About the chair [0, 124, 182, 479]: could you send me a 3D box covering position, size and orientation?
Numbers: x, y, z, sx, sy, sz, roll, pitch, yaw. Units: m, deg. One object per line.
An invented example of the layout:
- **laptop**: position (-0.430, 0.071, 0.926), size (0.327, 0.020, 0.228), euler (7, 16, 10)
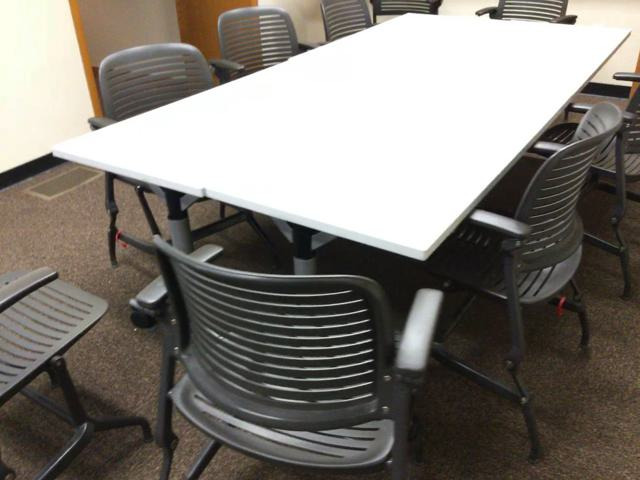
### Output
- **chair**: position (-0.800, 0.210, 1.410), size (0.600, 0.810, 0.520), euler (16, 35, 29)

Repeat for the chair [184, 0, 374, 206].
- **chair**: position (-0.180, -0.730, 2.900), size (0.640, 0.800, 0.620), euler (-26, 37, -35)

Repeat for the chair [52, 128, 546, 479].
- **chair**: position (0.000, 0.300, 1.230), size (0.650, 0.830, 0.600), euler (16, 35, 29)

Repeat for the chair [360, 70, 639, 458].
- **chair**: position (0.500, 0.020, 1.660), size (0.540, 0.820, 0.600), euler (16, 35, 29)

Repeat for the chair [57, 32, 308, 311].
- **chair**: position (-0.490, -0.310, 2.270), size (0.590, 0.820, 0.620), euler (22, 38, 36)
